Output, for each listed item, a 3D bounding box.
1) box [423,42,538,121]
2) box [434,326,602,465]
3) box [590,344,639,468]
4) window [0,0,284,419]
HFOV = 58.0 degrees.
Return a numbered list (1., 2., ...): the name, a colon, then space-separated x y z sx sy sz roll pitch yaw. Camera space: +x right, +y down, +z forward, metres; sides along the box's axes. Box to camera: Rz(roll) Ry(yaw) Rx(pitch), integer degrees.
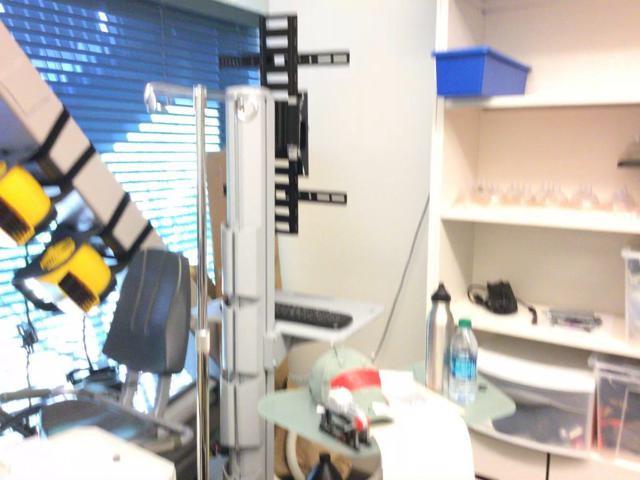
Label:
1. box: 0.540 -0.500 1.890 0.210 0.160 0.500 2 6 34
2. box: 0.670 0.490 1.940 0.440 0.270 0.400 2 6 34
3. box: 1.020 0.500 1.740 0.320 0.260 0.340 2 6 34
4. window: -1.010 -0.250 2.210 0.450 1.570 2.190 2 6 34
